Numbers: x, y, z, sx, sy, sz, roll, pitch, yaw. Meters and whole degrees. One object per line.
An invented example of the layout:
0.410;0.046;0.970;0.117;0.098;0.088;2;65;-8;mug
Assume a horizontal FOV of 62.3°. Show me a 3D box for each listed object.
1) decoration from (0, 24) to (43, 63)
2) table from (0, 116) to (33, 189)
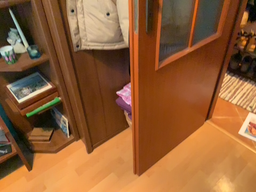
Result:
-0.650;-0.300;1.200;0.280;0.110;0.220;-8;40;-8;decoration
-0.950;0.420;1.400;0.430;0.240;0.370;-30;47;-30;table
